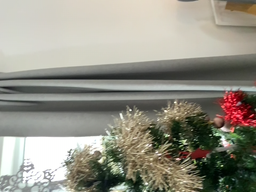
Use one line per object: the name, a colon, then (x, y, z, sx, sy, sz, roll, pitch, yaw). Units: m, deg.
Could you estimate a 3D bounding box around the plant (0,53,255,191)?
plant: (0.490, 0.280, 0.780, 0.660, 1.790, 0.610, 115, 153, -72)
